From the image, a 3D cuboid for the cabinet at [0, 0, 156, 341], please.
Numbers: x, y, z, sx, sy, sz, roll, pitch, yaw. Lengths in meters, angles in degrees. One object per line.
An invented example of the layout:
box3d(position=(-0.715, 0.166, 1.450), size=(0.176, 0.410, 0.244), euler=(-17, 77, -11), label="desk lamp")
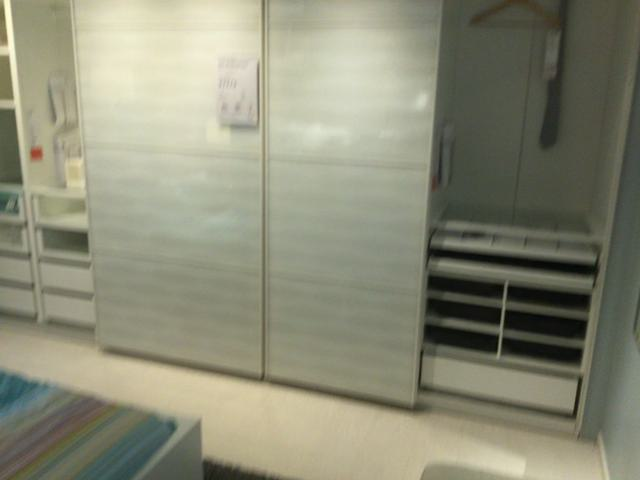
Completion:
box3d(position=(-1.550, -0.710, 3.310), size=(0.860, 2.360, 0.670), euler=(6, 15, 17), label="cabinet")
